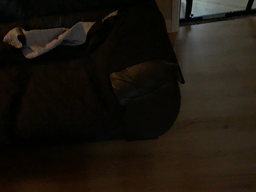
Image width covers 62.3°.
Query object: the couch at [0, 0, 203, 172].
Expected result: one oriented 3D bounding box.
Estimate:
[{"bbox_3d":[-0.850,-0.250,1.340,2.190,0.910,1.170,-5,54,5],"label":"couch"}]
